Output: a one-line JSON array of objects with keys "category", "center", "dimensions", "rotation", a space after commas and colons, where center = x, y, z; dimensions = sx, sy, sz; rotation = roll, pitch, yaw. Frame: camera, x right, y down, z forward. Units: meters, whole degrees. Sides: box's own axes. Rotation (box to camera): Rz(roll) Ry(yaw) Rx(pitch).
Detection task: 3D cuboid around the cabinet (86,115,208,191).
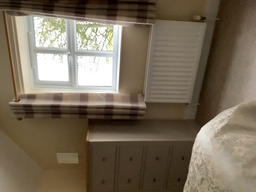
[{"category": "cabinet", "center": [0.160, 0.650, 2.440], "dimensions": [0.430, 1.230, 0.730], "rotation": [-105, 18, -65]}]
